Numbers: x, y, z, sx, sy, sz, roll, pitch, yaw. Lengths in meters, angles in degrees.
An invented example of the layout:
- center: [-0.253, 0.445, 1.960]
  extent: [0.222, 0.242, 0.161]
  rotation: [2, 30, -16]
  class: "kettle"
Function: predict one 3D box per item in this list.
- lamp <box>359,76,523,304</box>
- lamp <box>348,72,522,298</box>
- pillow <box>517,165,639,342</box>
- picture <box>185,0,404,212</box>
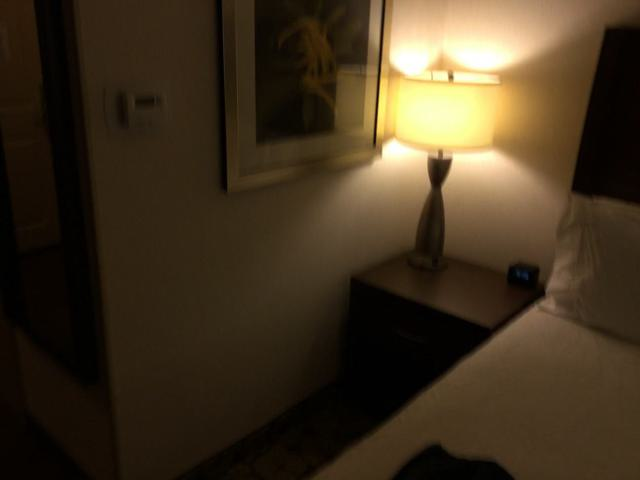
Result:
- center: [0.470, -0.230, 2.320]
  extent: [0.450, 0.800, 0.380]
  rotation: [-16, 25, -41]
  class: "lamp"
- center: [0.450, -0.260, 2.370]
  extent: [0.450, 0.800, 0.450]
  rotation: [-16, 25, -41]
  class: "lamp"
- center: [1.100, 0.070, 1.680]
  extent: [0.440, 0.390, 0.850]
  rotation: [-16, 25, -41]
  class: "pillow"
- center: [-0.040, -0.560, 1.880]
  extent: [0.840, 0.810, 0.080]
  rotation: [-15, 25, -41]
  class: "picture"
